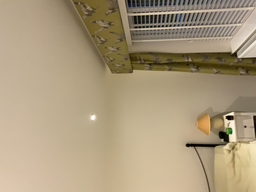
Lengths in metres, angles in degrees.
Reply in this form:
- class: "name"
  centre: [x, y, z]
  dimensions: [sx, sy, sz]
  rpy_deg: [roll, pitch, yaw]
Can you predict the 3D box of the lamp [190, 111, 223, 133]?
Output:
- class: "lamp"
  centre: [1.050, 0.360, 2.890]
  dimensions: [0.320, 0.340, 0.270]
  rpy_deg: [69, -158, -76]
